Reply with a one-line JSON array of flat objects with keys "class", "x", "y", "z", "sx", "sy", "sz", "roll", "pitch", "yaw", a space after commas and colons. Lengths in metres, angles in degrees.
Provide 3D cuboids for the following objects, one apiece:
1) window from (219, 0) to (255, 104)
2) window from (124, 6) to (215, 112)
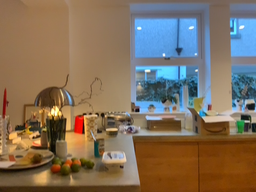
[{"class": "window", "x": 1.950, "y": -0.610, "z": 3.100, "sx": 1.080, "sy": 1.430, "sz": 0.360, "roll": -1, "pitch": 0, "yaw": 1}, {"class": "window", "x": 0.580, "y": -0.520, "z": 3.090, "sx": 1.250, "sy": 1.460, "sz": 0.290, "roll": -1, "pitch": 0, "yaw": -1}]
